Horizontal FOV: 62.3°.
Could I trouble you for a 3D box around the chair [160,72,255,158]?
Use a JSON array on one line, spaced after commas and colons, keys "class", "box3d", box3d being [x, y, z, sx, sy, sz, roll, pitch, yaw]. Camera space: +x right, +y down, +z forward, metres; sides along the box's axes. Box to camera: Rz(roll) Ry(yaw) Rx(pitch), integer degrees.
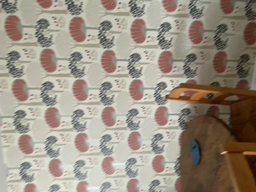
[{"class": "chair", "box3d": [0.850, 0.170, 1.770, 0.440, 1.020, 0.600, 109, 159, -69]}]
